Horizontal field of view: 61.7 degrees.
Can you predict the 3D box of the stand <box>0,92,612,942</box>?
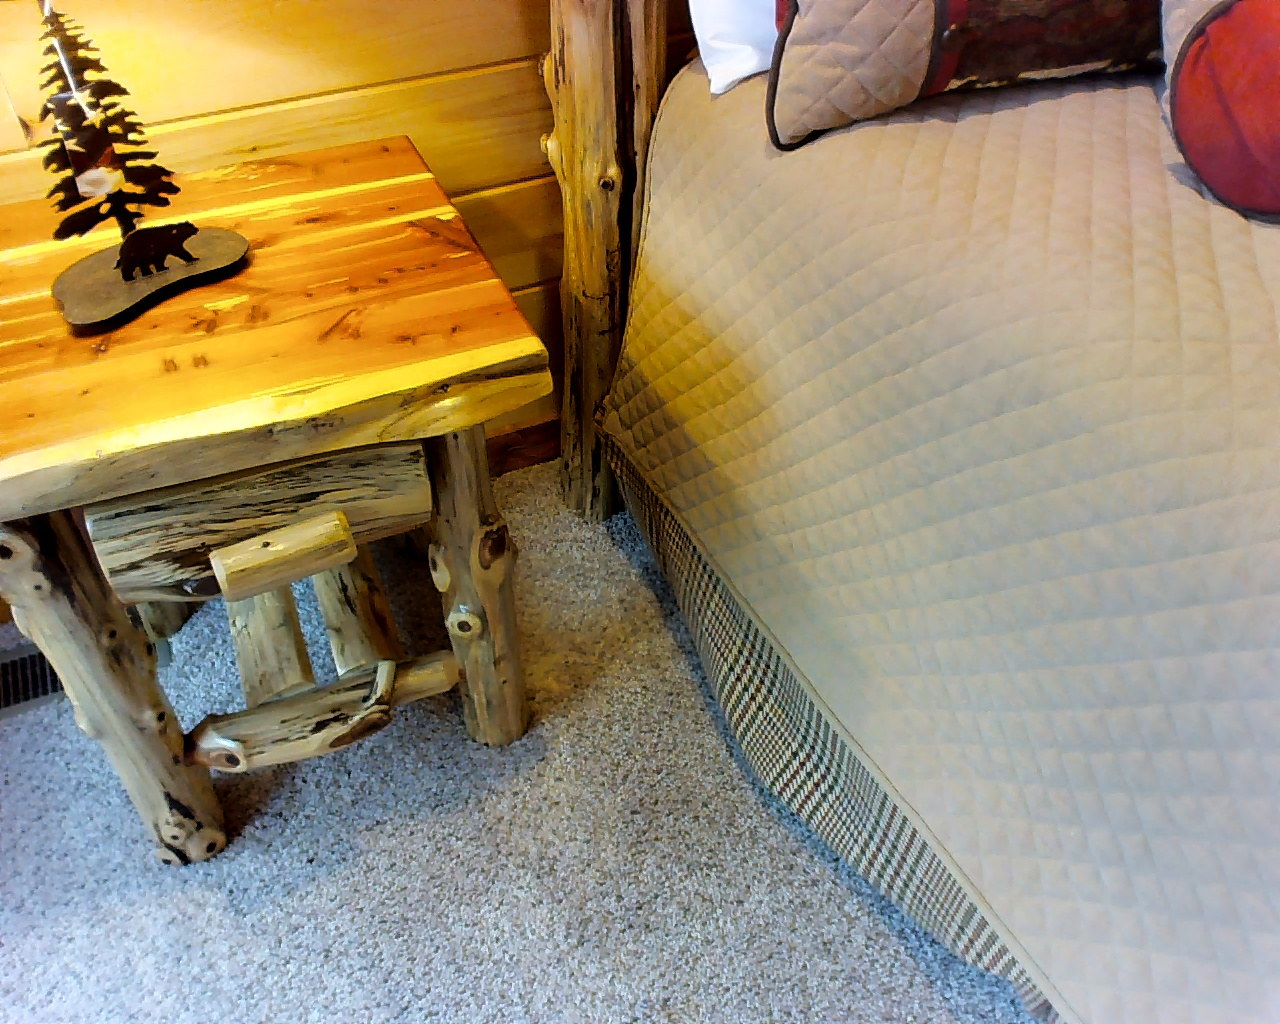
[{"bbox_3d":[-0.460,-0.030,1.320,0.630,0.620,0.650,-19,-45,-19],"label":"stand"}]
